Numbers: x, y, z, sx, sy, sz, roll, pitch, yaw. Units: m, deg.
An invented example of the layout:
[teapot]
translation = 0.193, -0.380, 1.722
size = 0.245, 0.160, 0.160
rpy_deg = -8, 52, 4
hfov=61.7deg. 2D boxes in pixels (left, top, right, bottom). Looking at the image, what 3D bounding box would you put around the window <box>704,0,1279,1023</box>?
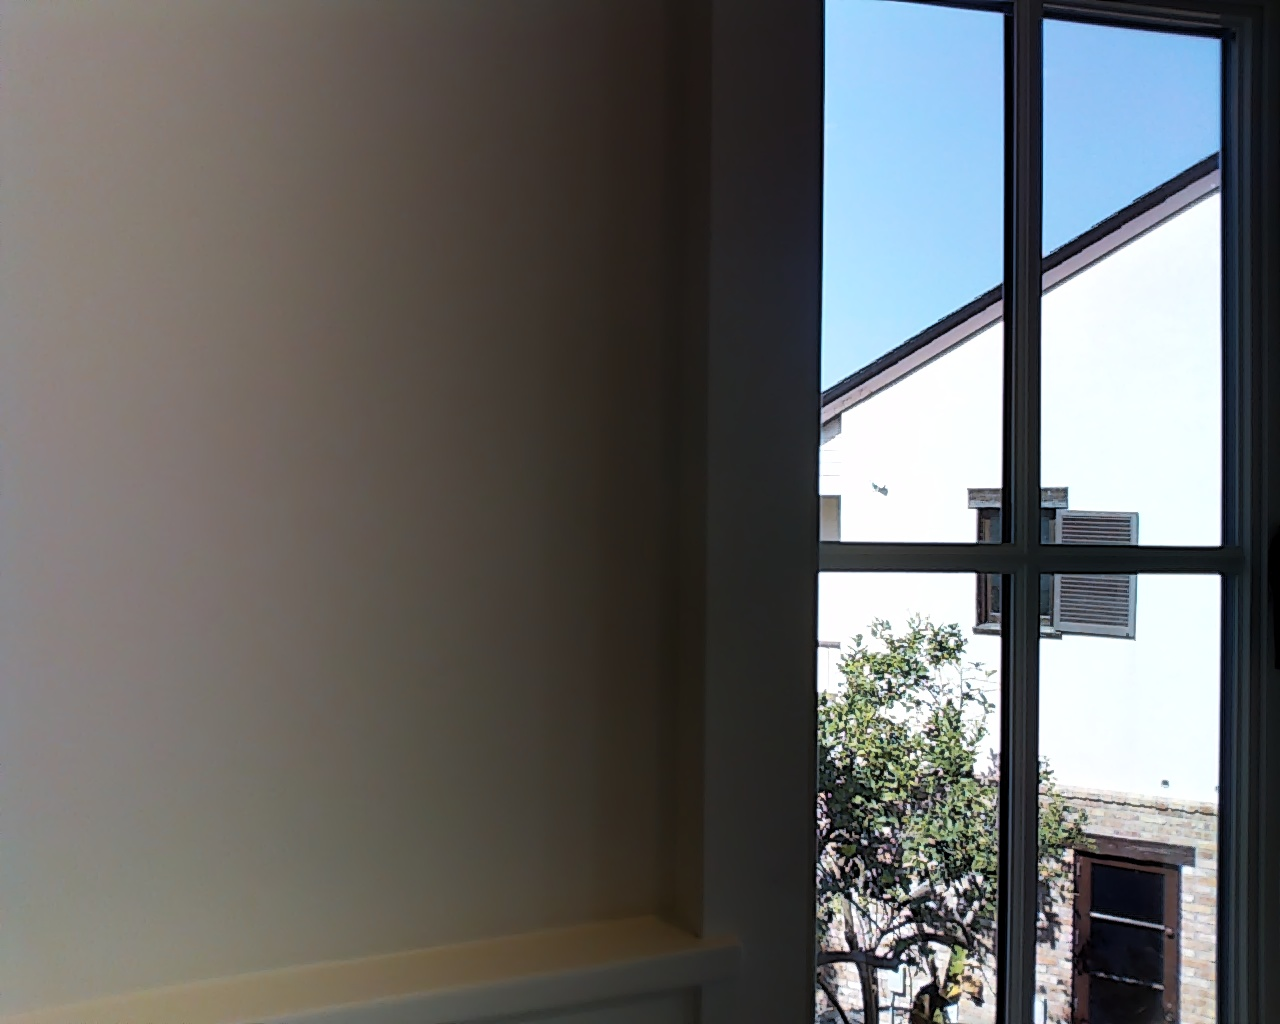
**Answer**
[window]
translation = 0.410, 0.040, 1.010
size = 0.630, 1.231, 0.430
rpy_deg = 1, -1, -5
